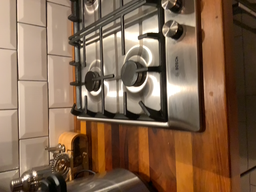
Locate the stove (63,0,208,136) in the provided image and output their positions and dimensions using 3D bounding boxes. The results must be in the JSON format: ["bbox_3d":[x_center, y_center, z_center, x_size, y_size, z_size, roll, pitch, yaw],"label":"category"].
[{"bbox_3d":[-0.050,-0.200,0.600,0.540,0.040,0.570,-5,87,50],"label":"stove"}]

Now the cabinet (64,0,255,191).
[{"bbox_3d":[0.290,-0.330,0.930,0.620,0.920,2.660,-5,87,50],"label":"cabinet"}]
